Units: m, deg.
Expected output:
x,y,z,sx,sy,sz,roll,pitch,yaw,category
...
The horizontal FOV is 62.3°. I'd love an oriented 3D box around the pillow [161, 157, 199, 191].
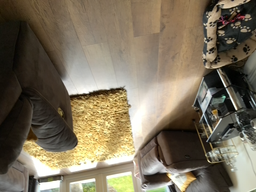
x,y,z,sx,sy,sz,roll,pitch,yaw,category
0.780,1.210,3.270,0.200,0.410,0.500,2,154,-30,pillow
